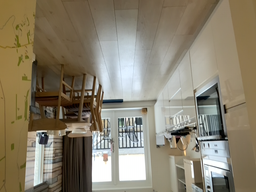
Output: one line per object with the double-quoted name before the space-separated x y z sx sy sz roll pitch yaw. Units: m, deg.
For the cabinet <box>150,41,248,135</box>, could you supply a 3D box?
"cabinet" 0.880 0.180 3.780 0.600 0.890 3.230 -2 168 0
